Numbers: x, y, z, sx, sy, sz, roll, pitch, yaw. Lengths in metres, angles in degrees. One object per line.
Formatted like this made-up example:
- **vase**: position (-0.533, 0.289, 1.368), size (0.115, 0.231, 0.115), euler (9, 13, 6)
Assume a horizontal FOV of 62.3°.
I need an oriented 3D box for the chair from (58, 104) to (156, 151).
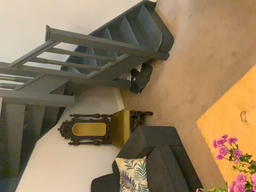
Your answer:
- **chair**: position (-0.280, 0.430, 2.770), size (0.630, 1.090, 0.490), euler (-21, 67, 61)
